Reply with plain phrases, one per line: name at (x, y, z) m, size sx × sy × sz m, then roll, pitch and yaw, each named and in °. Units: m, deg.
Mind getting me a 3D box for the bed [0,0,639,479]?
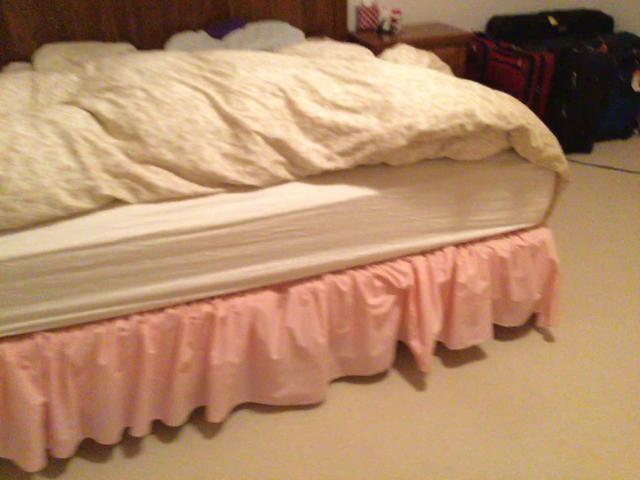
bed at (-0.470, -0.660, 2.260) m, size 1.960 × 1.680 × 2.270 m, roll -14°, pitch 26°, yaw -15°
